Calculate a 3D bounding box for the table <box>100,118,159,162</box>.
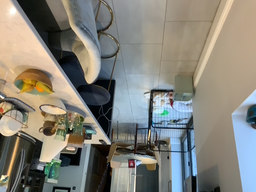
[{"bbox_3d":[0.110,1.080,5.030,1.200,0.720,1.230,-1,155,9],"label":"table"}]
